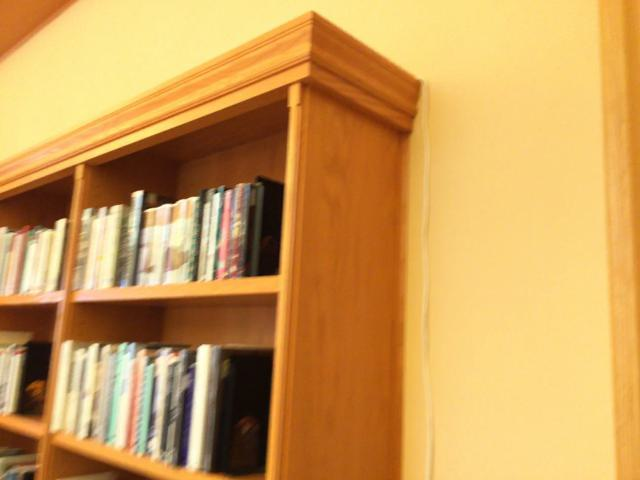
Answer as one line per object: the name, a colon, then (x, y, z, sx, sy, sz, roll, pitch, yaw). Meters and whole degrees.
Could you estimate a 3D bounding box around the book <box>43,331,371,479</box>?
book: (-0.310, 0.500, 1.400, 0.800, 0.520, 0.340, -7, -16, 42)

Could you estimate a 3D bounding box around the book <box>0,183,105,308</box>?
book: (-1.090, 0.060, 2.030, 1.000, 0.340, 0.140, -7, -16, 42)

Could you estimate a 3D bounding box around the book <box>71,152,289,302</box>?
book: (-0.380, 0.000, 1.440, 0.710, 0.280, 0.120, -7, -16, 42)

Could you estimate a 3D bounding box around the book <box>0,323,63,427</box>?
book: (-1.110, 0.440, 1.960, 0.590, 0.300, 0.170, -7, -16, 42)
